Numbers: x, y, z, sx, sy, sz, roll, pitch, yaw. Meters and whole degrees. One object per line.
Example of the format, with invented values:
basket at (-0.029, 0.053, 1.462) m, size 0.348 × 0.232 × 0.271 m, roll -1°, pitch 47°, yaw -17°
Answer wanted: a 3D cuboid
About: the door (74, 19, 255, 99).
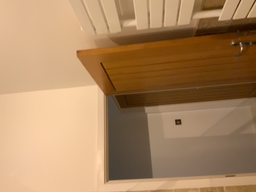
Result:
door at (0.690, -0.240, 1.620) m, size 0.940 × 1.930 × 0.070 m, roll 71°, pitch -166°, yaw -71°
